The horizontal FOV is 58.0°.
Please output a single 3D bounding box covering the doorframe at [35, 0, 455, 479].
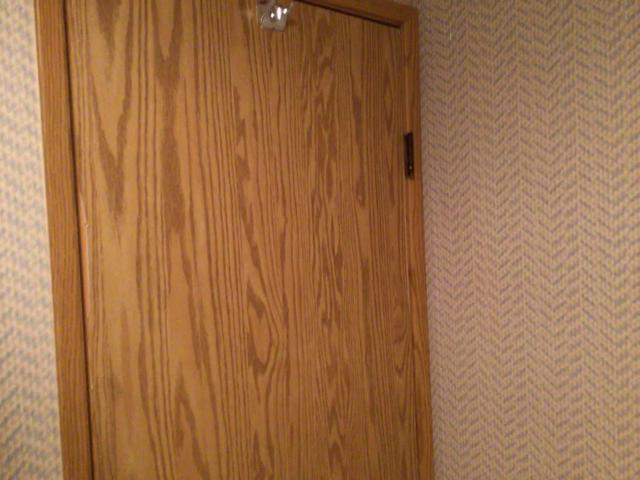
[{"bbox_3d":[-0.030,0.520,1.040,0.870,2.050,0.030,-1,1,-41],"label":"doorframe"}]
